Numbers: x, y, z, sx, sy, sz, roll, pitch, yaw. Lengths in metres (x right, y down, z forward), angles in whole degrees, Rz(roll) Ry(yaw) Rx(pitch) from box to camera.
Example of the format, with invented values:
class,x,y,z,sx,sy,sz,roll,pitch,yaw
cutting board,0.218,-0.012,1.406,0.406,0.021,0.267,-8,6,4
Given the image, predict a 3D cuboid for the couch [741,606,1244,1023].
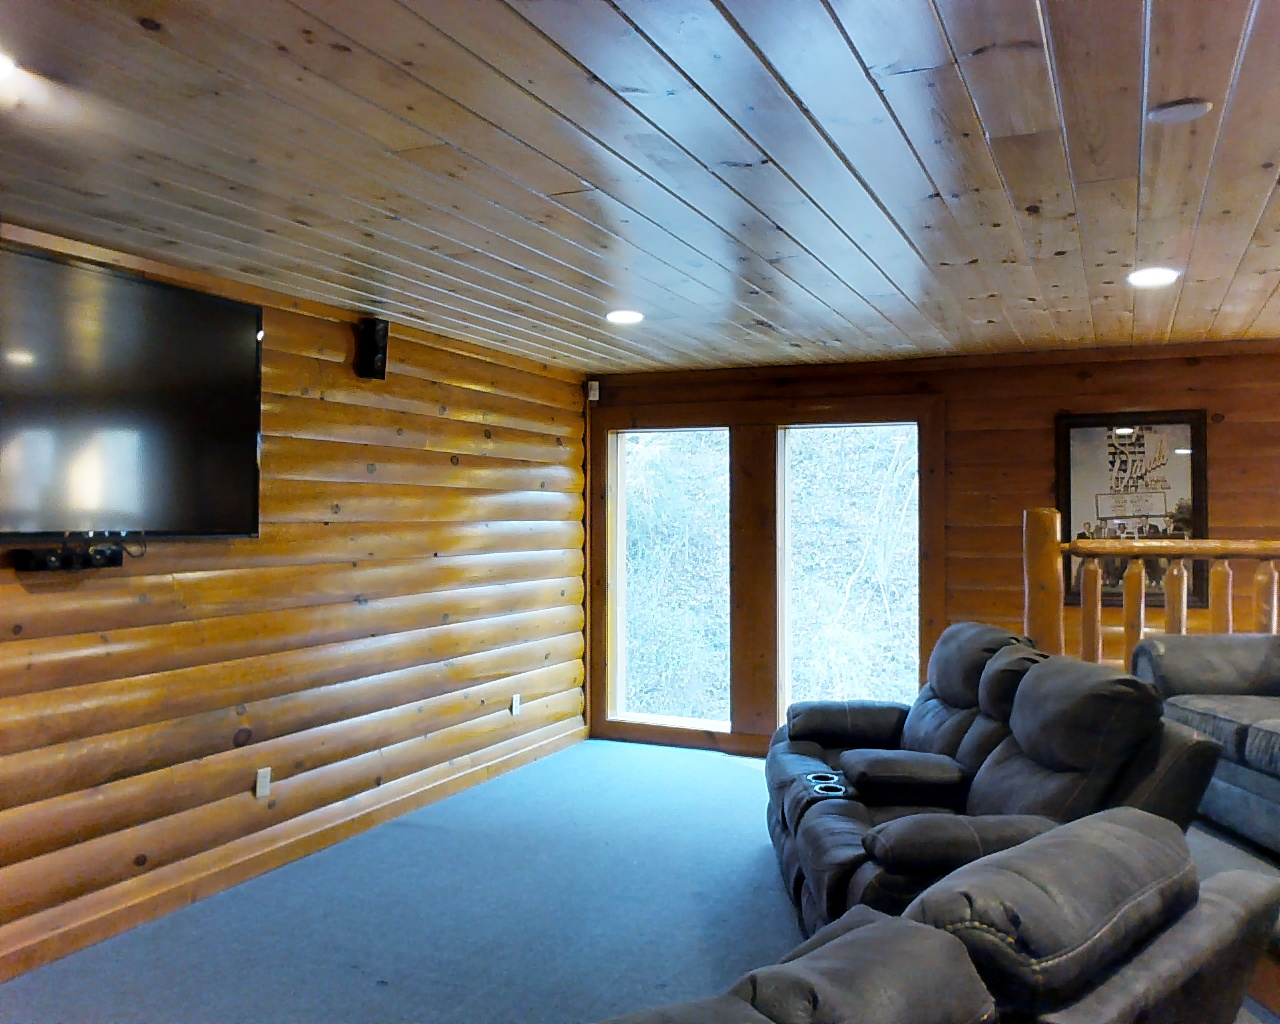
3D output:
class,x,y,z,sx,sy,sz,roll,pitch,yaw
couch,1.030,0.920,3.870,1.090,0.990,2.060,0,0,-1
